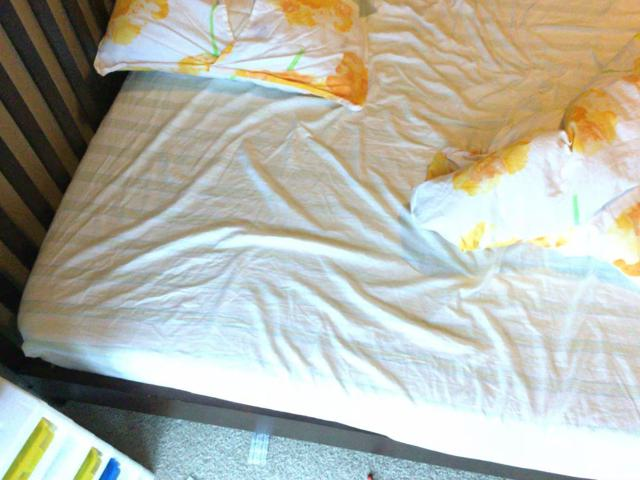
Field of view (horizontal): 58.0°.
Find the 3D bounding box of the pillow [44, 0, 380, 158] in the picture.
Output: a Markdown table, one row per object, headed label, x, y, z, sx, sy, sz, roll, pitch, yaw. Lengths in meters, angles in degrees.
| label | x | y | z | sx | sy | sz | roll | pitch | yaw |
| --- | --- | --- | --- | --- | --- | --- | --- | --- | --- |
| pillow | -0.220 | -0.530 | 1.460 | 0.670 | 0.300 | 0.480 | 9 | 61 | 10 |
